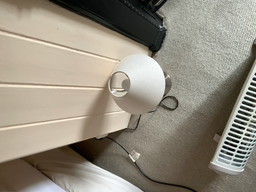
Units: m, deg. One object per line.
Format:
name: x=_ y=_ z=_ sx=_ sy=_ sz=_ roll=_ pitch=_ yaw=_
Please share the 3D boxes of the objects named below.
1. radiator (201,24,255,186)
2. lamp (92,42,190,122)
radiator: x=0.480 y=0.000 z=0.820 sx=0.140 sy=0.380 sz=0.550 roll=22 pitch=101 yaw=27
lamp: x=0.090 y=-0.060 z=0.950 sx=0.210 sy=0.460 sz=0.240 roll=18 pitch=100 yaw=27
